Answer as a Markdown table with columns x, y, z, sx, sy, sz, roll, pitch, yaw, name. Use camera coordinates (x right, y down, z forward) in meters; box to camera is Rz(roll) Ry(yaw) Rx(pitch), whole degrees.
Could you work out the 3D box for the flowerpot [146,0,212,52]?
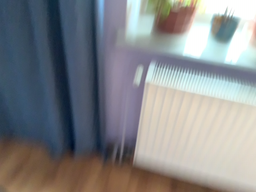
| x | y | z | sx | sy | sz | roll | pitch | yaw | name |
| --- | --- | --- | --- | --- | --- | --- | --- | --- | --- |
| 0.230 | -0.380 | 1.000 | 0.230 | 0.220 | 0.270 | 11 | 37 | 7 | flowerpot |
